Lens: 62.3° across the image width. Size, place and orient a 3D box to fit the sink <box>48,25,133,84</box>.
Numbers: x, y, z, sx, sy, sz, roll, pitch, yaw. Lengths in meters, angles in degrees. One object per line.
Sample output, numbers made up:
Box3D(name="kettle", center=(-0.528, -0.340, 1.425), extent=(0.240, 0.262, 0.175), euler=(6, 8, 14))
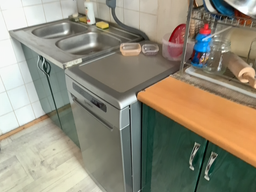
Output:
Box3D(name="sink", center=(-0.240, -0.300, 1.420), extent=(0.410, 0.190, 0.370), euler=(-28, 42, -34))
